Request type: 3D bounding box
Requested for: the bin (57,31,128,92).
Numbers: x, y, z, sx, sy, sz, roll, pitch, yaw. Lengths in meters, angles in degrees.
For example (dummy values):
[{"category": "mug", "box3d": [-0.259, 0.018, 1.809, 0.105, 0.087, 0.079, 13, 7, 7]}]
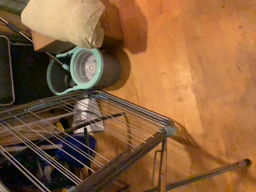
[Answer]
[{"category": "bin", "box3d": [-0.210, -0.180, 1.250, 0.320, 0.210, 0.260, -12, 85, 33]}]
